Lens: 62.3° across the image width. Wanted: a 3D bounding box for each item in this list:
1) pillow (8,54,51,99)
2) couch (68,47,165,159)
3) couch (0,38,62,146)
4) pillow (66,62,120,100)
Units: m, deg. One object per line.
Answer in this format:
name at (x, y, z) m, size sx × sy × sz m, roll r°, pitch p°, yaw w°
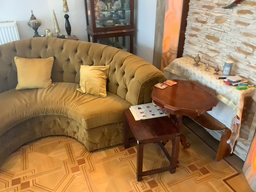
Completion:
pillow at (-1.060, -0.220, 2.340) m, size 0.310 × 0.380 × 0.240 m, roll -11°, pitch 32°, yaw -10°
couch at (-0.180, 0.000, 2.310) m, size 0.770 × 0.770 × 0.890 m, roll -9°, pitch 30°, yaw -15°
couch at (-1.010, -0.090, 2.360) m, size 0.370 × 0.870 × 0.840 m, roll -9°, pitch 30°, yaw -15°
pillow at (-0.360, -0.170, 2.280) m, size 0.480 × 0.260 × 0.300 m, roll 6°, pitch 30°, yaw 11°
